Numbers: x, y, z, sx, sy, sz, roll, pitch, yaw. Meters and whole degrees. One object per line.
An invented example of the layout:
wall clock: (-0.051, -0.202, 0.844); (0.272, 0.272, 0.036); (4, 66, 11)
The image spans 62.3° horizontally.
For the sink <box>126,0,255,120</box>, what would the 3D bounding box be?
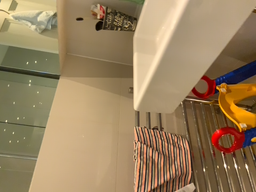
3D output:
sink: (0.140, -0.290, 0.600); (0.620, 0.150, 0.460); (112, 163, -52)

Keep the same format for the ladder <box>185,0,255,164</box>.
ladder: (0.600, -0.040, 0.890); (0.540, 0.450, 0.470); (110, 164, -52)
